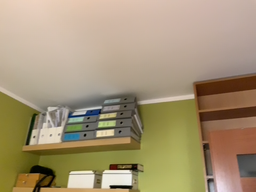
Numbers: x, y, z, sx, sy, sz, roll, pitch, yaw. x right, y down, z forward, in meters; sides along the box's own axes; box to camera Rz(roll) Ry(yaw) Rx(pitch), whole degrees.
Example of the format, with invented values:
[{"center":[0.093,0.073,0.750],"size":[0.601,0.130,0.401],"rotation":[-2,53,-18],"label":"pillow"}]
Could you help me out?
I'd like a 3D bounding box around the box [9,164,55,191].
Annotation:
[{"center":[-0.870,0.770,1.950],"size":[0.260,0.240,0.230],"rotation":[-8,-28,20],"label":"box"}]
